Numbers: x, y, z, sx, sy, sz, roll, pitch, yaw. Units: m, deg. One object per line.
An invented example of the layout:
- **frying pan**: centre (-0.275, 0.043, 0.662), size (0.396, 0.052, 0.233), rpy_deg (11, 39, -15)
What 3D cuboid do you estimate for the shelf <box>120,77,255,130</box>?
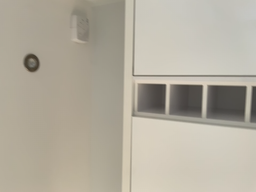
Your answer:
- **shelf**: centre (0.390, 0.010, 0.850), size (0.310, 0.790, 0.160), rpy_deg (-10, -78, -62)
